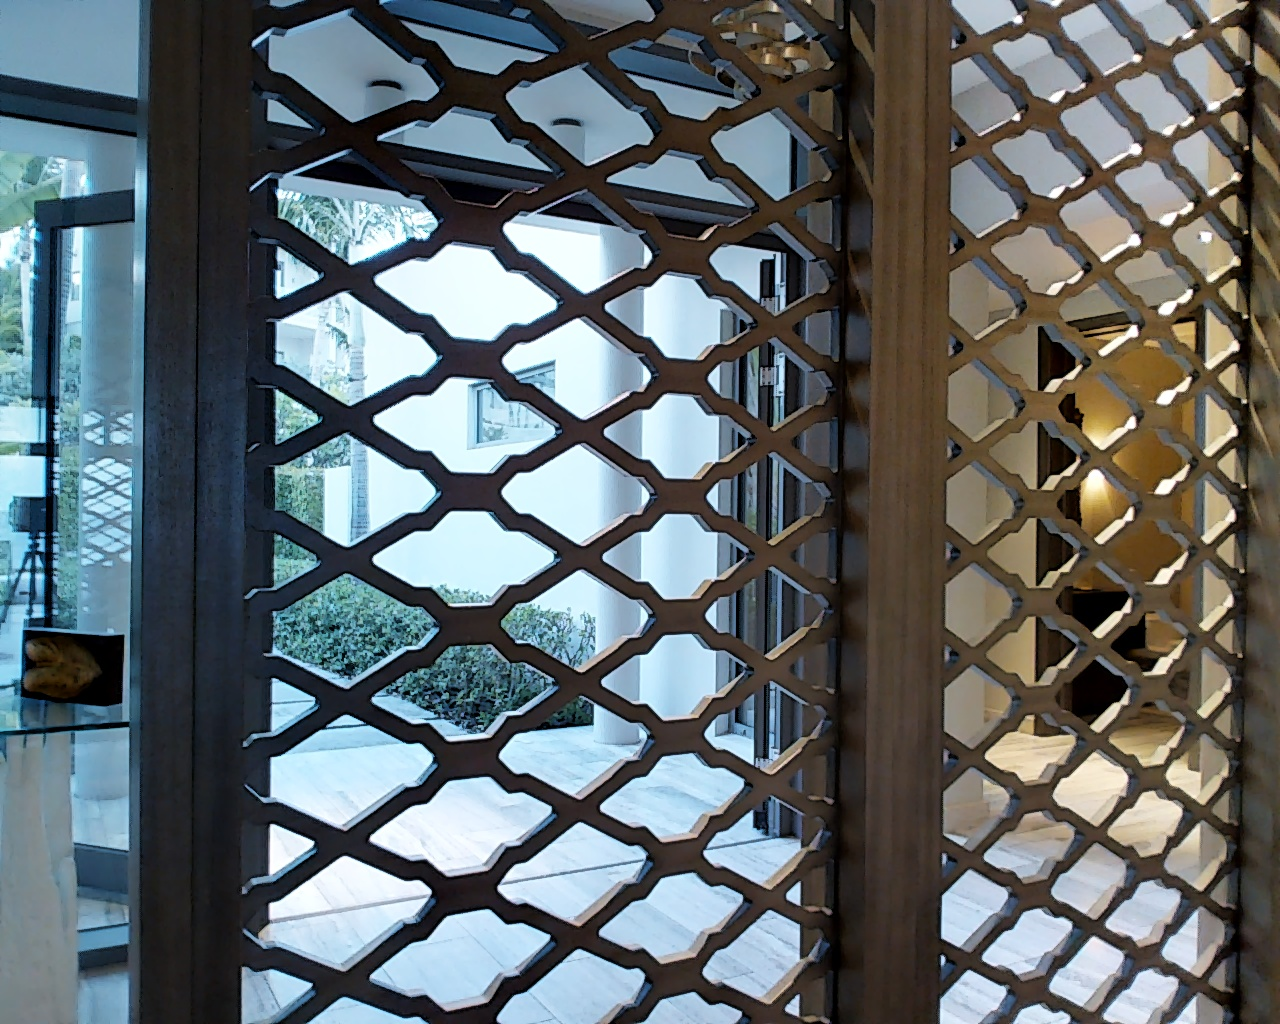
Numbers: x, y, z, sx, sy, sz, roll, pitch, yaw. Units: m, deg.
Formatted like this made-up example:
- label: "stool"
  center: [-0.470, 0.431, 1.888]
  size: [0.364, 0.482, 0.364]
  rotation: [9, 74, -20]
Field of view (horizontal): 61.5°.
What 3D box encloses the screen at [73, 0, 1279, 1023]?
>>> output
- label: "screen"
  center: [0.870, -0.240, 1.880]
  size: [3.280, 3.040, 0.150]
  rotation: [0, 0, -29]
